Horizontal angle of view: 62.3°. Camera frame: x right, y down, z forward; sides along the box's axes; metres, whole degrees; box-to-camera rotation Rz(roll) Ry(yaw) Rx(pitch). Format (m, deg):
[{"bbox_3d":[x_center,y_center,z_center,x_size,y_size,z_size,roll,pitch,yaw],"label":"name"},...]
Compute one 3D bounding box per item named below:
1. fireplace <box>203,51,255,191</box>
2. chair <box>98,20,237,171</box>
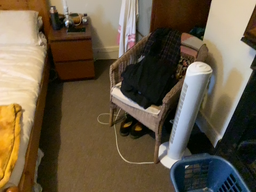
[{"bbox_3d":[0.750,0.300,1.170,0.180,0.910,0.590,-5,40,-10],"label":"fireplace"},{"bbox_3d":[0.260,-0.050,1.680,0.660,0.780,0.680,33,48,32],"label":"chair"}]
